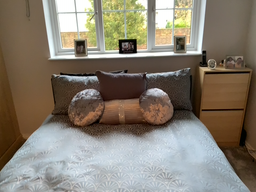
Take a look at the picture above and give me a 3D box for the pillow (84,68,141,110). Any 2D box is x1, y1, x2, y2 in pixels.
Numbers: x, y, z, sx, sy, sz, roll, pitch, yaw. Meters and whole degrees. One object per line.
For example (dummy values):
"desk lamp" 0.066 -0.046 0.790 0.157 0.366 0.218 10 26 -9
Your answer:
"pillow" -0.130 -0.060 1.930 0.460 0.310 0.130 -6 20 4

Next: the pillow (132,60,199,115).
"pillow" 0.360 -0.090 2.100 0.550 0.340 0.260 -18 18 6

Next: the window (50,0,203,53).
"window" -0.030 -0.940 2.510 1.740 0.830 0.110 1 21 5
